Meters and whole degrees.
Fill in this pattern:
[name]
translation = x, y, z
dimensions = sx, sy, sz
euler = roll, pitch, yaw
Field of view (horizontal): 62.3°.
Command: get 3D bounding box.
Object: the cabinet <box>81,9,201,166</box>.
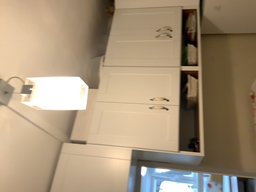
[cabinet]
translation = 0.160, -0.120, 1.680
dimensions = 0.340, 0.720, 1.180
euler = 71, -156, -61
